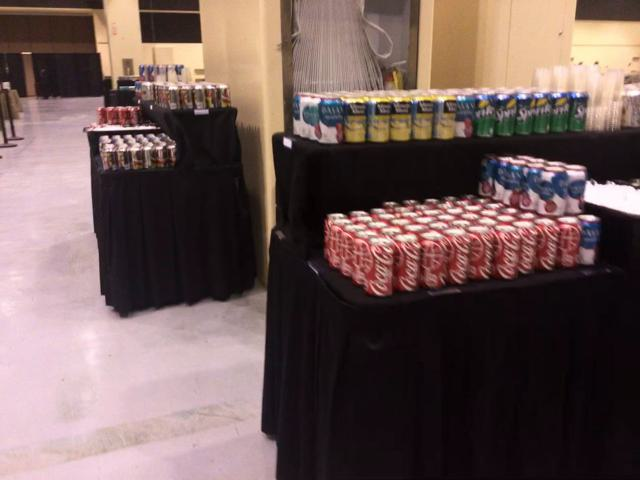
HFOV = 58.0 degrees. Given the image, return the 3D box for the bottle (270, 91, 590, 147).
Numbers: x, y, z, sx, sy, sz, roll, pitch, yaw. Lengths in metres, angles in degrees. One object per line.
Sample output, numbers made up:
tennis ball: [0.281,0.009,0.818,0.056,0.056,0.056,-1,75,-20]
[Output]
bottle: [0.310,-0.370,1.700,0.850,0.110,0.360,-5,18,-18]

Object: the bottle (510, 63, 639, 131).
bottle: [0.820,-0.460,1.820,0.200,0.180,0.420,-5,18,-18]

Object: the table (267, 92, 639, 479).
table: [0.830,0.130,1.820,1.840,1.110,0.760,-5,18,-18]

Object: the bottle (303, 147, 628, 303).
bottle: [0.340,-0.070,1.470,0.680,0.250,0.390,-5,18,-18]

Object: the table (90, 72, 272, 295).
table: [-0.960,-0.520,3.790,0.860,1.030,1.800,-5,20,-18]
